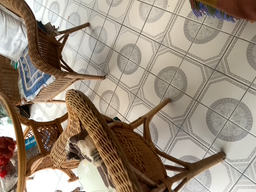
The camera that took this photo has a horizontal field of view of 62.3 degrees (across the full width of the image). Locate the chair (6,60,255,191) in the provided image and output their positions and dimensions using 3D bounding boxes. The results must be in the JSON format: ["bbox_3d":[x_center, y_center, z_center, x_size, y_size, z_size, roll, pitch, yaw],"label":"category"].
[{"bbox_3d":[0.050,0.400,1.040,0.770,0.800,0.690,-45,63,29],"label":"chair"}]
